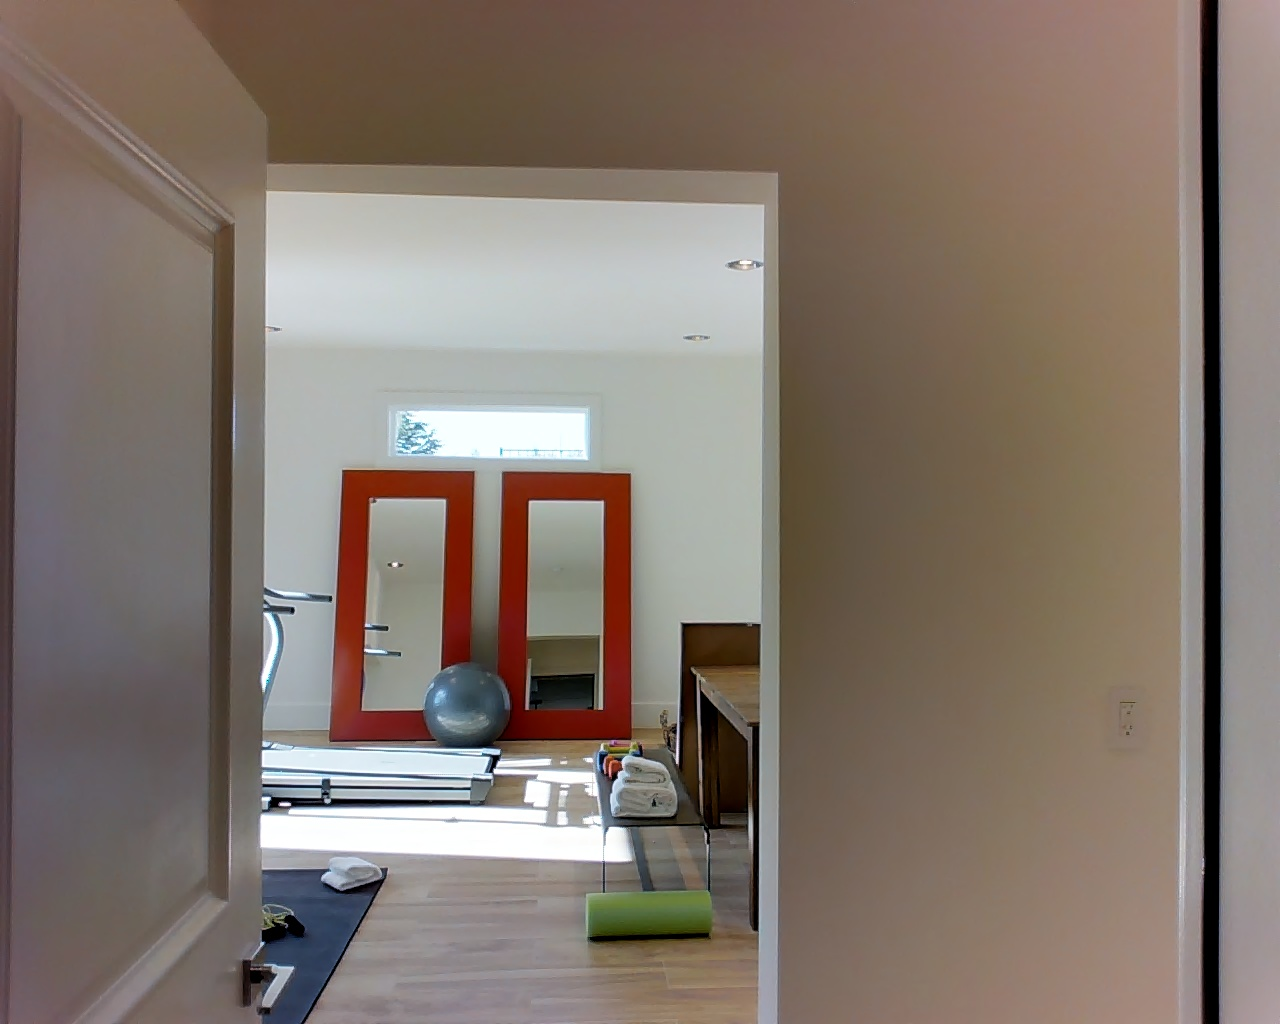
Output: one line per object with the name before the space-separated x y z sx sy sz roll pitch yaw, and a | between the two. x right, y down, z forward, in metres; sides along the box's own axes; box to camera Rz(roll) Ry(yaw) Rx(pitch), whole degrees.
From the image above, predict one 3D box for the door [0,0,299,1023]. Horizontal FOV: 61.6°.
door | -0.540 0.470 1.130 0.090 2.140 0.900 1 0 -2
